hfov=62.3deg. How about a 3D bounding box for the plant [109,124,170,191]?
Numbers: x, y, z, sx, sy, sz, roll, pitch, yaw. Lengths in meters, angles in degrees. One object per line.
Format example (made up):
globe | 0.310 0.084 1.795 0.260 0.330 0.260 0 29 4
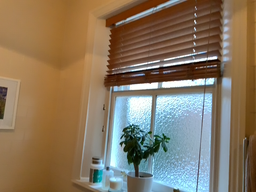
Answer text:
plant | 0.070 0.400 1.340 0.330 0.420 0.170 -2 -9 42
